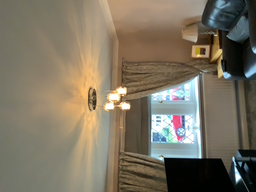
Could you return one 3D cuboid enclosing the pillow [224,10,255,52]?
[{"bbox_3d":[1.430,-0.810,2.700,0.510,0.200,0.260,76,-165,-72],"label":"pillow"}]

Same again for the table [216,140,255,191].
[{"bbox_3d":[1.600,1.210,2.590,1.430,0.540,0.550,-80,-11,-64],"label":"table"}]
